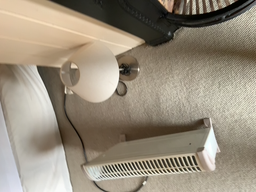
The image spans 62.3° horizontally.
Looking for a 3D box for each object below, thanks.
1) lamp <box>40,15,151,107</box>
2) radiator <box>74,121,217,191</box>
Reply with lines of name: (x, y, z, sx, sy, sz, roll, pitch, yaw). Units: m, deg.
lamp: (-0.110, -0.140, 1.000, 0.240, 0.480, 0.290, -10, 91, 26)
radiator: (0.100, 0.270, 0.990, 0.550, 0.390, 0.130, -16, 88, 26)
